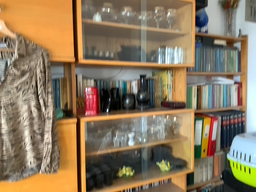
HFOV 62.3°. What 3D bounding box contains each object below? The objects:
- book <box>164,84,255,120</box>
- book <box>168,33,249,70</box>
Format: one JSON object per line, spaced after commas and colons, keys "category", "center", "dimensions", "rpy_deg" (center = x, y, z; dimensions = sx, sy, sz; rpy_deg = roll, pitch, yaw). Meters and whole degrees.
{"category": "book", "center": [0.740, 0.030, 1.930], "dimensions": [0.750, 0.280, 0.330], "rpy_deg": [-2, 4, -22]}
{"category": "book", "center": [0.730, -0.380, 1.910], "dimensions": [0.730, 0.260, 0.220], "rpy_deg": [-2, 4, -22]}
